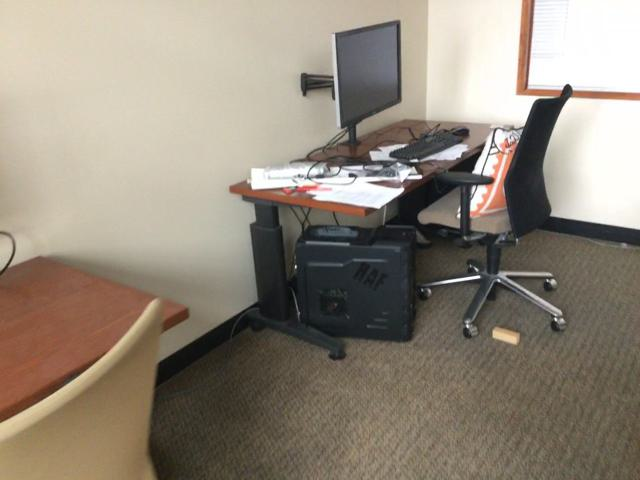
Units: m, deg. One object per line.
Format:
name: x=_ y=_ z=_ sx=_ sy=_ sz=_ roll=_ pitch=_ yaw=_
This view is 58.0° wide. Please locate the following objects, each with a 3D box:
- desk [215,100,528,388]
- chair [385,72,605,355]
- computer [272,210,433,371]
desk: x=0.370 y=-0.140 z=2.850 sx=0.710 sy=0.830 sz=1.610 roll=12 pitch=26 yaw=35
chair: x=0.760 y=-0.180 z=2.560 sx=0.670 sy=1.020 sz=0.670 roll=12 pitch=26 yaw=35
computer: x=0.150 y=0.190 z=2.530 sx=0.560 sy=0.480 sz=0.390 roll=12 pitch=26 yaw=35
